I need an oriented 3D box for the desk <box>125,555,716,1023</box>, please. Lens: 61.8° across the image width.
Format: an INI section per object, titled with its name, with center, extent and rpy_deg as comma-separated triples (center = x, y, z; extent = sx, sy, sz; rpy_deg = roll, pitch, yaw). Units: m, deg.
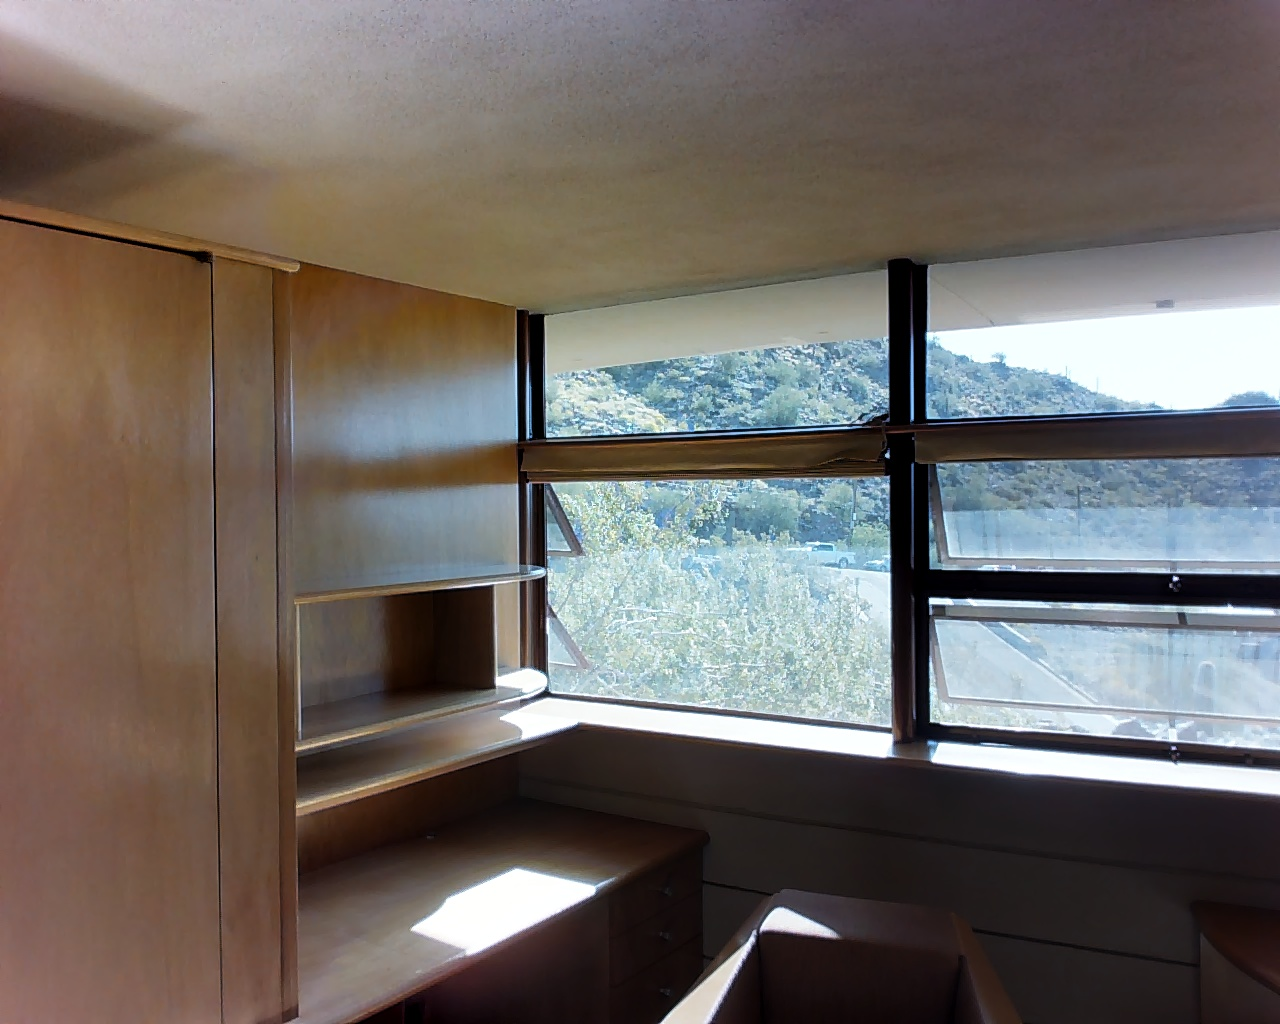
[desk]
center = -0.440, 0.860, 2.610
extent = 0.660, 1.440, 1.300
rpy_deg = 0, 1, 36
